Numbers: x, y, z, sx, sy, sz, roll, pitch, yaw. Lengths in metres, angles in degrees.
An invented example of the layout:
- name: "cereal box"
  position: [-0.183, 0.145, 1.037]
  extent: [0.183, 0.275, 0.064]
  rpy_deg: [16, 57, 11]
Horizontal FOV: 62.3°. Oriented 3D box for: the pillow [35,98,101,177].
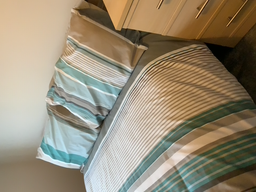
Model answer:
- name: "pillow"
  position: [-0.520, 0.360, 1.770]
  extent: [0.180, 0.350, 0.680]
  rpy_deg: [45, 131, 16]
